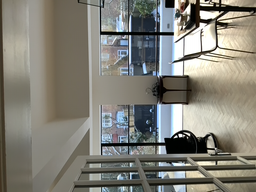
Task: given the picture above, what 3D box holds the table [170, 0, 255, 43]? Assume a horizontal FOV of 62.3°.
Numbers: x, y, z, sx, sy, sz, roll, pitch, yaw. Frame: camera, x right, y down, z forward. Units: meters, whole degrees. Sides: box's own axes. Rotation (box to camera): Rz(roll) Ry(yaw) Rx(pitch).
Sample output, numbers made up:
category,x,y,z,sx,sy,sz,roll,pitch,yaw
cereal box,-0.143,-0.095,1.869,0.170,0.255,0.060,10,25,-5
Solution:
category,x,y,z,sx,sy,sz,roll,pitch,yaw
table,1.140,-1.860,2.970,0.990,0.800,2.010,-129,40,-85
